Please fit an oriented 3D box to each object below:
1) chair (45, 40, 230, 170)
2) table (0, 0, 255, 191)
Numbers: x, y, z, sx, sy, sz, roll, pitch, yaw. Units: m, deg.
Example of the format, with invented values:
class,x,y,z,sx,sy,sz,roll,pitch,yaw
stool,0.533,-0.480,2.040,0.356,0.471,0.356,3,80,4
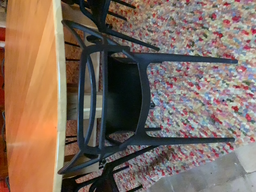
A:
class,x,y,z,sx,sy,sz,roll,pitch,yaw
chair,0.070,0.010,1.020,0.390,0.800,0.390,9,98,55
table,-0.540,-0.020,1.890,2.230,0.830,2.180,-50,51,43
